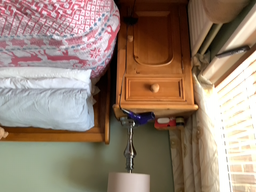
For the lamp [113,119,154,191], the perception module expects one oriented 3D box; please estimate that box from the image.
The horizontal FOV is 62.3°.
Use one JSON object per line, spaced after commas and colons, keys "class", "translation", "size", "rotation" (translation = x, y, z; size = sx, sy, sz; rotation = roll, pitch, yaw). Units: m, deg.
{"class": "lamp", "translation": [0.040, 0.420, 1.370], "size": [0.220, 0.480, 0.360], "rotation": [-1, 163, 3]}
